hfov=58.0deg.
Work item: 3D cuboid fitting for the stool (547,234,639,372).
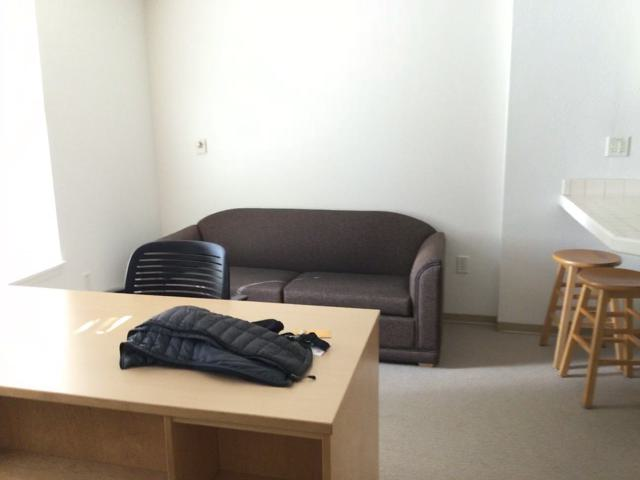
[{"bbox_3d":[1.510,0.320,3.200,0.410,0.610,0.530,0,12,16],"label":"stool"}]

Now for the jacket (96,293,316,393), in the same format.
[{"bbox_3d":[-0.290,0.260,1.560,0.480,0.130,0.320,0,12,17],"label":"jacket"}]

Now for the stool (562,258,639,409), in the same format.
[{"bbox_3d":[1.440,0.430,2.760,0.430,0.610,0.400,-1,11,10],"label":"stool"}]
